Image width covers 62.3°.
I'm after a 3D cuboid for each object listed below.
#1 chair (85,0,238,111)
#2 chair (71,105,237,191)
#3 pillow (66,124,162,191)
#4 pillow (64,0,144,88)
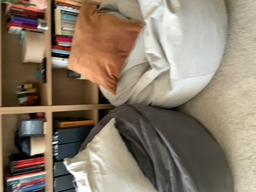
[{"bbox_3d":[0.140,-0.380,1.350,0.860,0.470,0.900,-2,89,52],"label":"chair"},{"bbox_3d":[0.100,0.570,1.340,0.890,0.570,1.000,-2,89,52],"label":"chair"},{"bbox_3d":[-0.120,0.490,1.210,0.410,0.240,0.490,54,130,37],"label":"pillow"},{"bbox_3d":[-0.180,-0.350,1.340,0.430,0.230,0.490,28,110,49],"label":"pillow"}]
